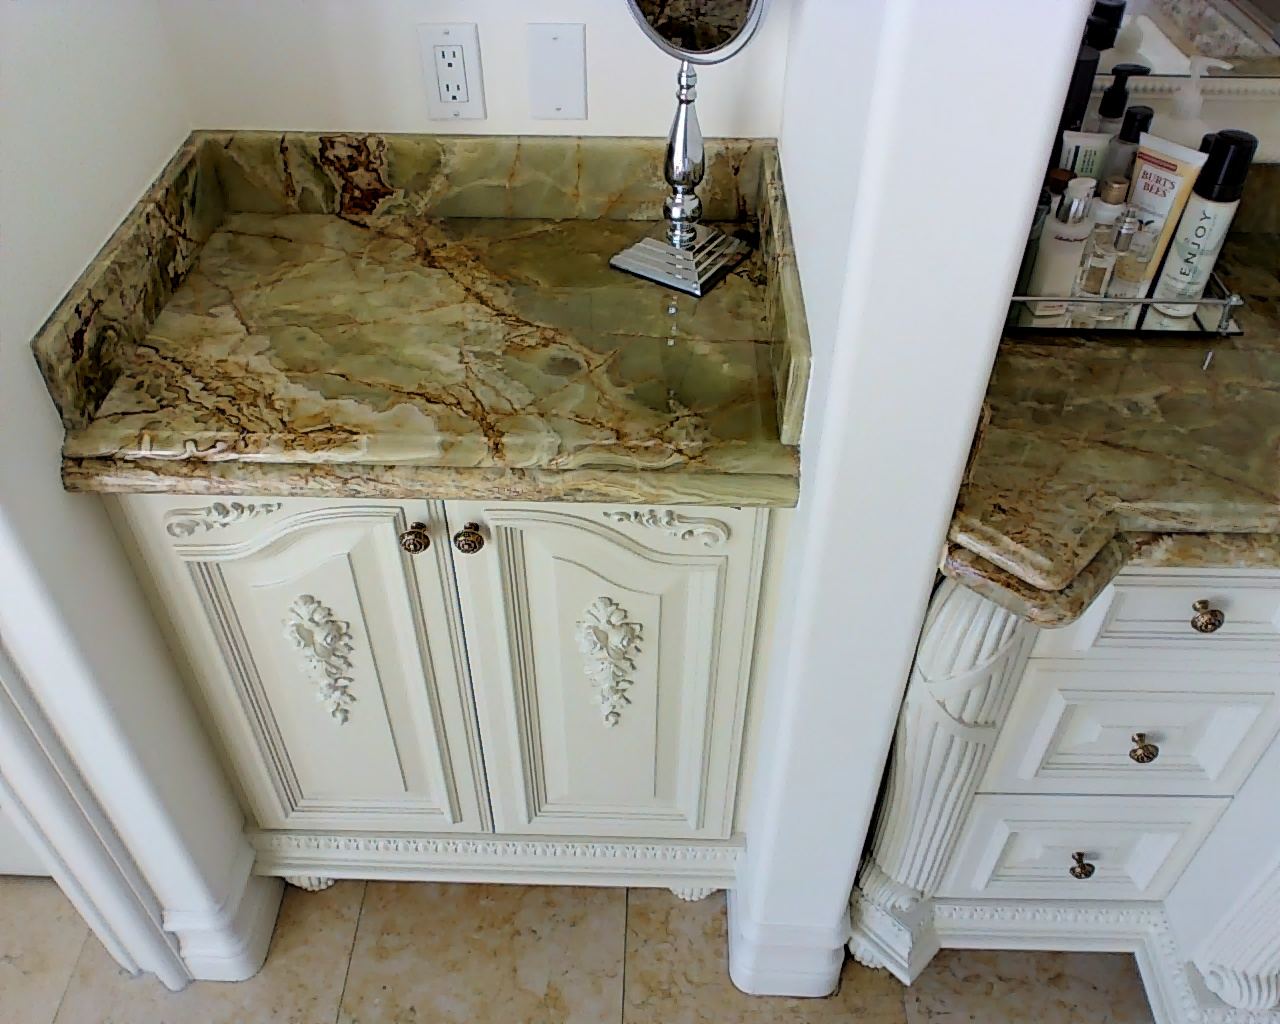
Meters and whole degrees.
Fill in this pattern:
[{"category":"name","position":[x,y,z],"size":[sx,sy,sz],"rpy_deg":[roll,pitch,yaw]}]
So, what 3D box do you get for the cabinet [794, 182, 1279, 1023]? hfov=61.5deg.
[{"category":"cabinet","position":[1.180,0.220,1.390],"size":[1.800,0.990,0.760],"rpy_deg":[1,42,1]}]
